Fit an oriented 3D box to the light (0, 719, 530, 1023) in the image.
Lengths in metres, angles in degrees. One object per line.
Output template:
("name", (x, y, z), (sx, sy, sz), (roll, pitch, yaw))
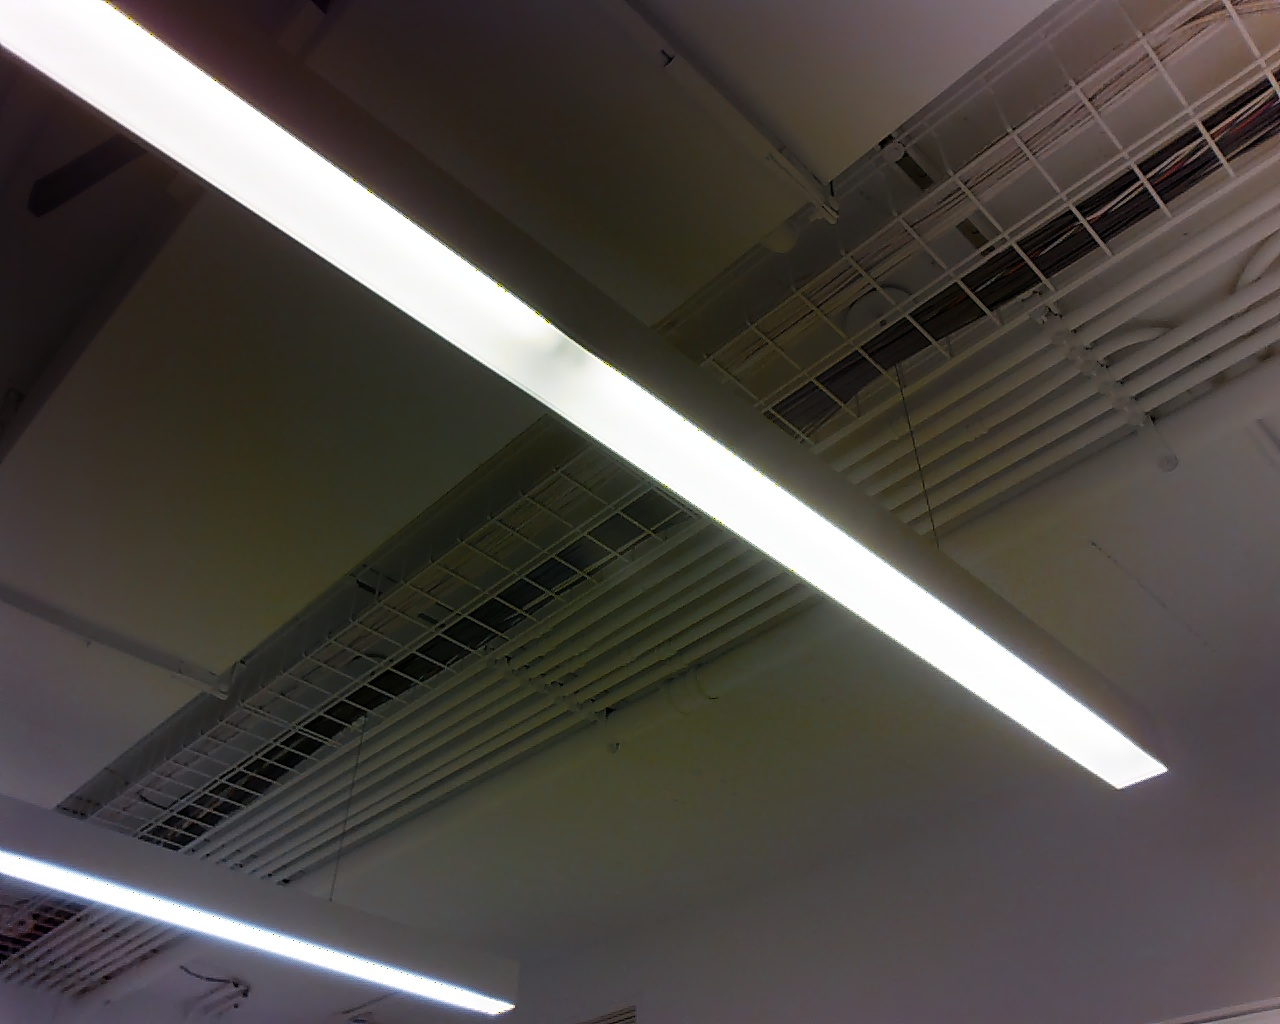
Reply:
("light", (-1.209, 0.550, 2.020), (2.480, 0.240, 0.150), (34, -51, -32))
